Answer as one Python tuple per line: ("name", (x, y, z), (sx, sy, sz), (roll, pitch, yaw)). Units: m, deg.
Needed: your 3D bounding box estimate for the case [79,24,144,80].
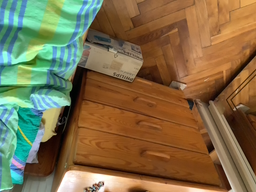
("case", (-0.080, -0.210, 1.030), (0.270, 0.150, 0.140), (14, 129, -17))
